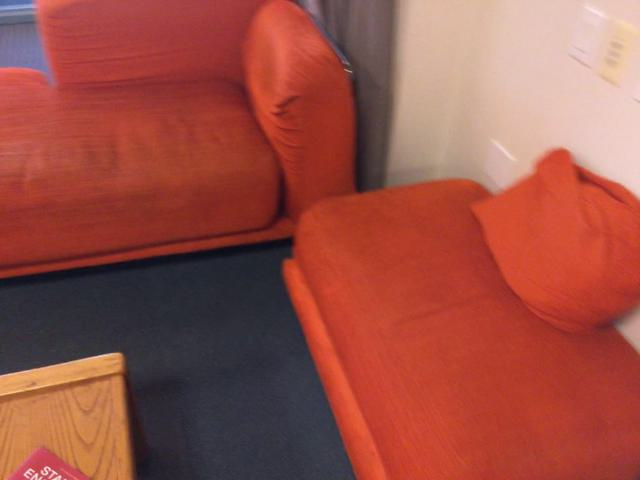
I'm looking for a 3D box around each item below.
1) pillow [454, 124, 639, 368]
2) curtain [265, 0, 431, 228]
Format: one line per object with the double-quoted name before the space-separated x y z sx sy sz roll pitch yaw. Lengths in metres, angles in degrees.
"pillow" 0.540 -0.010 1.320 0.210 0.280 0.490 -6 43 -16
"curtain" 0.050 -0.570 1.870 0.320 0.940 0.490 -6 43 -16
